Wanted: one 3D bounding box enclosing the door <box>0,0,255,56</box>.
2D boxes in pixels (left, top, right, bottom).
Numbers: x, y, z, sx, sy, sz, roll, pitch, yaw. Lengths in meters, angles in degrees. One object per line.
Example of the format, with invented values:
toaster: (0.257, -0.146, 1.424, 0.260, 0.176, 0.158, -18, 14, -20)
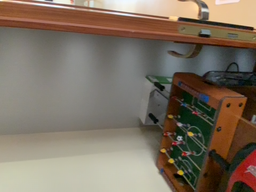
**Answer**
door: (0.200, -0.290, 0.890, 0.850, 1.940, 0.140, -137, 50, -64)
